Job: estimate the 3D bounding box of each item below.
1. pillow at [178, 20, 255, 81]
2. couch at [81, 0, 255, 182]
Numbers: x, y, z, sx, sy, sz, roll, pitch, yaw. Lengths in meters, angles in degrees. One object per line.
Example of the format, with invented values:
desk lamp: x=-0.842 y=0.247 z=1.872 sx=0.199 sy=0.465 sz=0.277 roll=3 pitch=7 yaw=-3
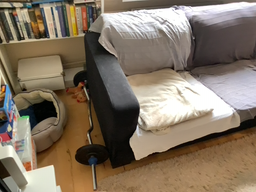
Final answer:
pillow: x=0.840 y=-0.380 z=1.750 sx=0.760 sy=0.410 sz=0.170 roll=-8 pitch=46 yaw=-14
couch: x=0.870 y=-0.200 z=1.750 sx=2.300 sy=0.770 sz=0.930 roll=-9 pitch=46 yaw=-15
